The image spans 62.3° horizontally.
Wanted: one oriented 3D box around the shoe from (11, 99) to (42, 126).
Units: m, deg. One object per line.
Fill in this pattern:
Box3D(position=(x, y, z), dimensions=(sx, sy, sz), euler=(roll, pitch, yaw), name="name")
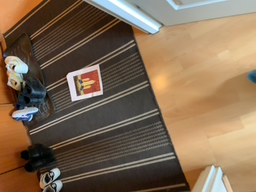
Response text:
Box3D(position=(-0.820, 0.130, 1.710), dimensions=(0.190, 0.100, 0.150), euler=(-25, 82, 27), name="shoe")
